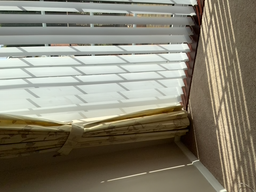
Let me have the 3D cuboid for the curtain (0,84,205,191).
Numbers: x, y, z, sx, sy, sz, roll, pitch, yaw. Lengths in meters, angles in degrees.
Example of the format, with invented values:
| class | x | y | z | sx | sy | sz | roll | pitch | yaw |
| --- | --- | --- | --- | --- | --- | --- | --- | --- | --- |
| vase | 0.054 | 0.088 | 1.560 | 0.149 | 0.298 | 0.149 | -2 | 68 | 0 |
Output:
| class | x | y | z | sx | sy | sz | roll | pitch | yaw |
| --- | --- | --- | --- | --- | --- | --- | --- | --- | --- |
| curtain | -0.450 | 0.330 | 1.740 | 0.210 | 2.290 | 0.650 | -130 | 38 | -62 |
